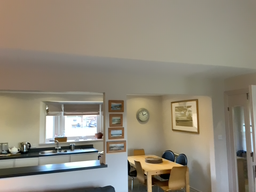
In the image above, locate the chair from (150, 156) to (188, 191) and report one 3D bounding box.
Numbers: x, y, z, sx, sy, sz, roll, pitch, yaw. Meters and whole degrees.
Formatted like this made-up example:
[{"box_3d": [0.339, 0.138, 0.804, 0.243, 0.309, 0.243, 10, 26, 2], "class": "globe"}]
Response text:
[{"box_3d": [0.720, 1.580, 3.780, 0.410, 0.850, 0.550, 1, -5, -23], "class": "chair"}]
